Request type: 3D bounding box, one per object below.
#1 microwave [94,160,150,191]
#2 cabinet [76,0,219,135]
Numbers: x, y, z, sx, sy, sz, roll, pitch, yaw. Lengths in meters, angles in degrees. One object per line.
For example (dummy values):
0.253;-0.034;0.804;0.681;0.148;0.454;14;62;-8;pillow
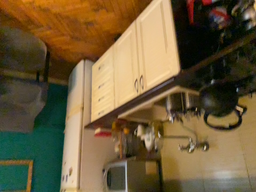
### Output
-0.080;0.790;2.080;0.320;0.270;0.500;10;156;-33;microwave
0.040;-0.190;2.050;0.560;0.870;1.300;12;155;-35;cabinet
